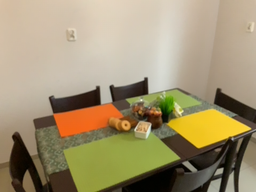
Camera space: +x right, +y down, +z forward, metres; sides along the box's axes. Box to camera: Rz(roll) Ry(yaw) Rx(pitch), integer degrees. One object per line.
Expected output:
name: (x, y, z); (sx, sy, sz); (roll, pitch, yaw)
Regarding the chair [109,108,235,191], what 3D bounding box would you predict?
chair: (0.210, 0.550, 1.230); (0.420, 0.760, 0.480); (-19, 29, -38)
